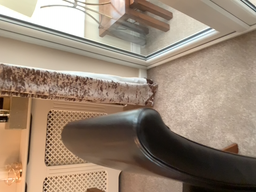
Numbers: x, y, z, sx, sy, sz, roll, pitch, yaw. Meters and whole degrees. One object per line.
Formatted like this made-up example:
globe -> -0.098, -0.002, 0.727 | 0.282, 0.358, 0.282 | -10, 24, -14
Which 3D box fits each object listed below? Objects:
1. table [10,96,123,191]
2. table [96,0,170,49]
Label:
table -> -0.480, 0.640, 1.840 | 0.200, 0.920, 1.180 | -13, 74, 52
table -> 0.020, -0.880, 1.890 | 0.430, 0.450, 0.710 | -23, 67, 50
